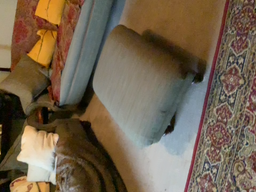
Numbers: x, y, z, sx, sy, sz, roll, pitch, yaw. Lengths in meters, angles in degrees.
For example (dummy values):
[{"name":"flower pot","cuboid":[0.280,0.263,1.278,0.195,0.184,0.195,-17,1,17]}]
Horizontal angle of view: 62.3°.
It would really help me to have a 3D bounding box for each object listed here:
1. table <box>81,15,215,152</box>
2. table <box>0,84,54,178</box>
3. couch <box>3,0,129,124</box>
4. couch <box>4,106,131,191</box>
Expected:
[{"name":"table","cuboid":[0.060,-0.120,1.480,0.770,0.370,0.570,46,123,41]},{"name":"table","cuboid":[-1.730,0.520,3.410,0.550,0.760,1.310,22,105,49]},{"name":"couch","cuboid":[-0.700,-0.840,2.200,1.100,0.720,1.960,49,125,40]},{"name":"couch","cuboid":[-0.540,1.140,1.930,1.090,0.720,1.830,-57,49,33]}]
